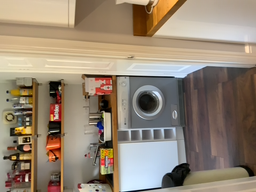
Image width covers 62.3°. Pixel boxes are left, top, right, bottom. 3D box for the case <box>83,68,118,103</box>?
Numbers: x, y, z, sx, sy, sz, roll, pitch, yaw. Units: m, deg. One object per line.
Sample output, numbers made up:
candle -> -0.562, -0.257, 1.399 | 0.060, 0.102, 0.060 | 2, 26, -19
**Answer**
case -> -0.360, -0.100, 2.550 | 0.790, 0.300, 0.250 | 149, 119, -71
